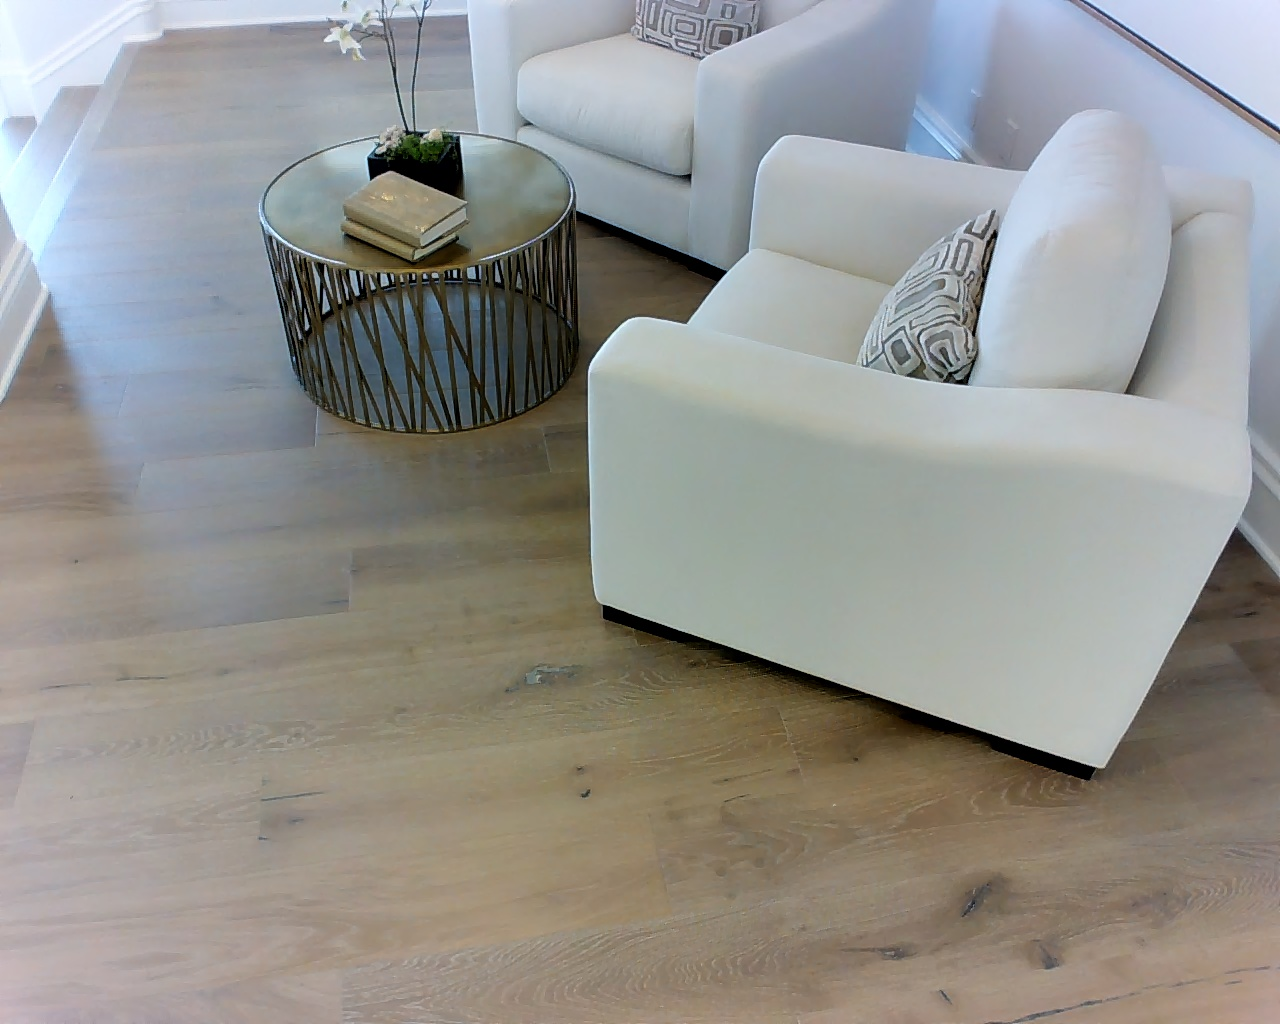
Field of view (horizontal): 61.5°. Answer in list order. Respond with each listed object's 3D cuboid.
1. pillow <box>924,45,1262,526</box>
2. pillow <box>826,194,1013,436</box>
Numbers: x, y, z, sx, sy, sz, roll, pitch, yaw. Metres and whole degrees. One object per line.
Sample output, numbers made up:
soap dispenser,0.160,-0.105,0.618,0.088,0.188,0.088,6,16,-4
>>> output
pillow,0.800,-0.440,1.940,0.360,0.500,0.750,14,43,14
pillow,0.540,-0.390,2.050,0.140,0.320,0.490,36,30,-1
